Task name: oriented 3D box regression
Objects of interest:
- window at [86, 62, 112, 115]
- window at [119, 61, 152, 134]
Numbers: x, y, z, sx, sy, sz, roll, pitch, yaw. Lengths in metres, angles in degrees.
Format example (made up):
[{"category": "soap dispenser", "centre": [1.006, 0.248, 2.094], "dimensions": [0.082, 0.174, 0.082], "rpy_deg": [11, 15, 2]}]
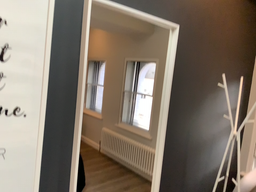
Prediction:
[{"category": "window", "centre": [-0.650, -0.190, 4.640], "dimensions": [0.080, 1.070, 0.710], "rpy_deg": [0, 8, -42]}, {"category": "window", "centre": [0.120, 0.000, 3.790], "dimensions": [0.080, 1.220, 0.580], "rpy_deg": [0, 8, -44]}]
